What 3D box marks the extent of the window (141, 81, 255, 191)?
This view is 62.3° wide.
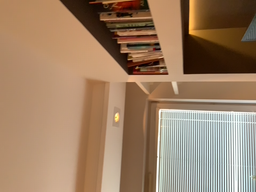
[{"bbox_3d":[0.900,0.970,2.220,0.130,1.510,2.250,32,-119,-72],"label":"window"}]
